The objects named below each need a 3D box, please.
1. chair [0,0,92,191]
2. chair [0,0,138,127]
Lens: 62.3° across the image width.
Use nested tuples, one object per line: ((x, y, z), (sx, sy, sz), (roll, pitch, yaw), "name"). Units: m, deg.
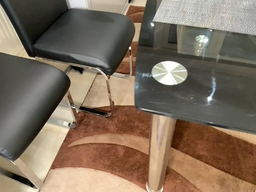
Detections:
((-0.610, -0.070, 0.870), (0.660, 1.040, 0.420), (11, 50, 11), "chair")
((-0.330, -0.370, 1.150), (0.660, 1.010, 0.420), (16, 51, 14), "chair")
